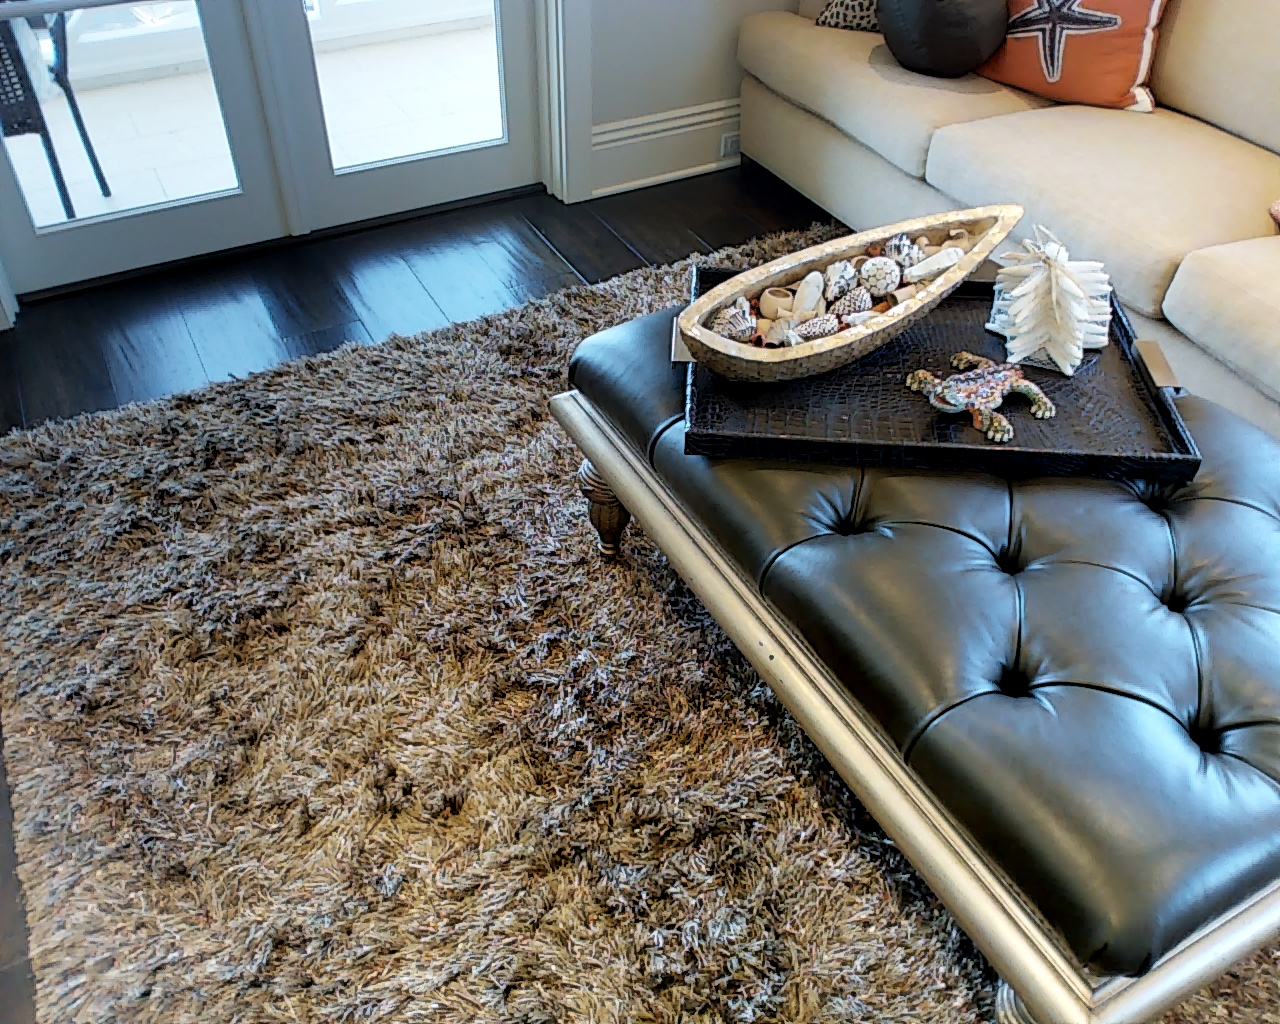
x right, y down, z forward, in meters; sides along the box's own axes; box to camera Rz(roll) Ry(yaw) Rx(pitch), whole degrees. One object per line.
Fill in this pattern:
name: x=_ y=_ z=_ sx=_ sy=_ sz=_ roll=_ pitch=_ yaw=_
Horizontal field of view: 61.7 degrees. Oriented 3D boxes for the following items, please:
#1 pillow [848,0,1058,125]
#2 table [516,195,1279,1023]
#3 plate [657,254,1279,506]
pillow: x=0.800 y=-1.230 z=2.730 sx=0.370 sy=0.300 sz=0.350 roll=28 pitch=48 yaw=28
table: x=0.550 y=0.120 z=1.700 sx=0.980 sy=0.560 sz=1.370 roll=-19 pitch=45 yaw=-22
plate: x=0.450 y=-0.230 z=1.670 sx=0.830 sy=0.060 sz=0.570 roll=2 pitch=41 yaw=2
